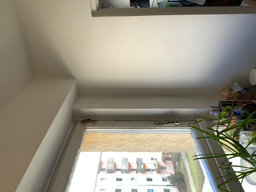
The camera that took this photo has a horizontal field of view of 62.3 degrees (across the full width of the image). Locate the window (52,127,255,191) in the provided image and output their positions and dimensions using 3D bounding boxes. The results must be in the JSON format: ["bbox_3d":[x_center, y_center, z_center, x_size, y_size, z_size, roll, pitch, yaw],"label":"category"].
[{"bbox_3d":[0.230,0.620,1.230,1.030,1.280,0.280,-88,-2,-60],"label":"window"}]
